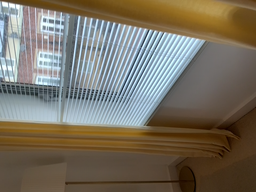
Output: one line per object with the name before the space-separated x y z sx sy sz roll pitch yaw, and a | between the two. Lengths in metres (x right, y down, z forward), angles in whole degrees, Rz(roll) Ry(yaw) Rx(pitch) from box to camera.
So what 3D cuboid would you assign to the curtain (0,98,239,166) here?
curtain | -0.370 0.280 1.460 0.450 2.360 0.220 114 154 -45
